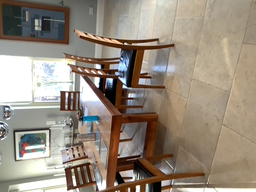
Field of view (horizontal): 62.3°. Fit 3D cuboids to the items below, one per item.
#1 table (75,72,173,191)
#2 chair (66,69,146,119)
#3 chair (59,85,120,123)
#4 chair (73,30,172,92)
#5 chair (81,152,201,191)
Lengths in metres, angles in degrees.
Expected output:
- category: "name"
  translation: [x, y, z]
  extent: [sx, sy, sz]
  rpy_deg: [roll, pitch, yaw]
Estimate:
- category: "table"
  translation: [-0.280, 0.440, 3.500]
  extent: [2.080, 0.780, 1.230]
  rpy_deg: [-140, 54, -60]
- category: "chair"
  translation: [-0.360, -0.050, 3.290]
  extent: [0.510, 1.070, 0.590]
  rpy_deg: [-137, 51, -59]
- category: "chair"
  translation: [-0.800, 0.130, 4.300]
  extent: [0.590, 1.070, 0.560]
  rpy_deg: [-140, 54, -60]
- category: "chair"
  translation: [-0.090, -0.420, 2.650]
  extent: [0.480, 1.070, 0.600]
  rpy_deg: [-132, 46, -57]
- category: "chair"
  translation: [0.110, 0.960, 2.220]
  extent: [0.660, 1.070, 0.470]
  rpy_deg: [179, 91, -67]
